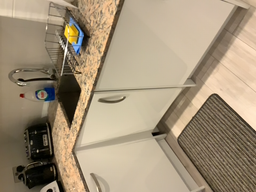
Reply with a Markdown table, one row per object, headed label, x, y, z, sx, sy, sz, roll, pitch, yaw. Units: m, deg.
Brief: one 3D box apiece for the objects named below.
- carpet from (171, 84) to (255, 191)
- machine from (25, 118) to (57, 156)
| label | x | y | z | sx | sy | sz | roll | pitch | yaw |
| --- | --- | --- | --- | --- | --- | --- | --- | --- | --- |
| carpet | 0.820 | 0.630 | 1.300 | 1.440 | 0.020 | 0.600 | 58 | 136 | 34 |
| machine | -0.770 | 0.350 | 1.870 | 0.190 | 0.210 | 0.280 | -4 | 90 | 55 |
